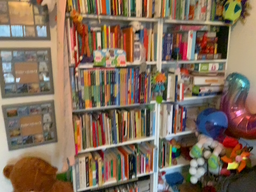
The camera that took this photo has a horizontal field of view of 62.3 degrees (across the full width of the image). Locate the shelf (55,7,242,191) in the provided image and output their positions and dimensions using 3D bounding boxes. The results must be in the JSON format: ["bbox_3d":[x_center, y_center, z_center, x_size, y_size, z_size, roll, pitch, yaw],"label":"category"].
[{"bbox_3d":[0.220,0.340,1.830,1.490,1.900,0.280,-5,14,-24],"label":"shelf"}]

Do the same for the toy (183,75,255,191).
[{"bbox_3d":[0.890,0.270,1.460,0.480,0.710,0.930,-4,14,-22],"label":"toy"}]

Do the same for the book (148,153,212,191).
[{"bbox_3d":[0.490,0.820,2.040,0.520,0.370,0.250,-4,14,-21],"label":"book"}]

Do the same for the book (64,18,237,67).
[{"bbox_3d":[0.220,-0.390,1.650,1.340,0.280,0.300,-4,14,-23],"label":"book"}]

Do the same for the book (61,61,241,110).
[{"bbox_3d":[0.250,-0.130,1.730,1.490,0.280,0.290,-5,14,-24],"label":"book"}]
